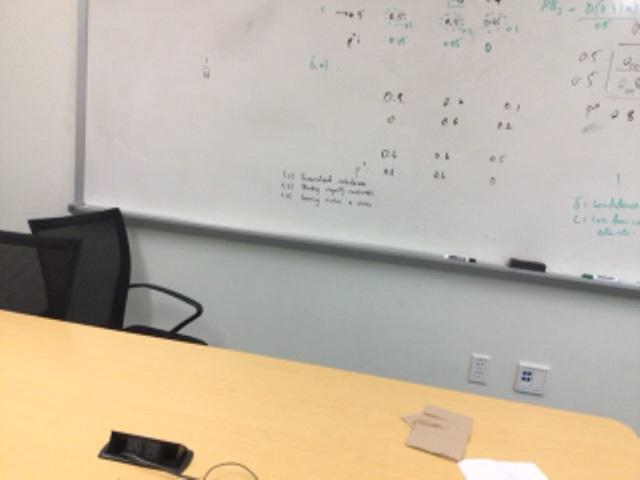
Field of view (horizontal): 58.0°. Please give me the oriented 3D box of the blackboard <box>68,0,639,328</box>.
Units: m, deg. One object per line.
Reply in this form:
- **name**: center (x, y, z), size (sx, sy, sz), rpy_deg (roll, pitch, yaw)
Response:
- **blackboard**: center (0.230, -0.470, 2.100), size (2.420, 1.270, 0.190), rpy_deg (8, 13, 11)
